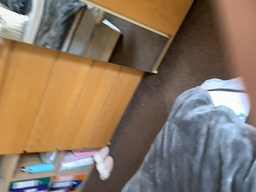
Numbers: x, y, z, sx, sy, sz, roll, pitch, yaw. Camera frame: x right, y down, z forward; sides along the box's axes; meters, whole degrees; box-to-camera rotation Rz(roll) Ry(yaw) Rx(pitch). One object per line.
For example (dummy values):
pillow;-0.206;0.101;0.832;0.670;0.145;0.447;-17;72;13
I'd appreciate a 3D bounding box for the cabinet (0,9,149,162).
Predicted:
cabinet;-0.530;-0.020;1.660;0.580;0.980;0.810;50;120;41

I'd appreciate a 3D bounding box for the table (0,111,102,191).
table;-0.830;0.630;2.040;0.470;0.780;0.790;48;118;42
